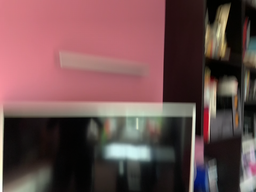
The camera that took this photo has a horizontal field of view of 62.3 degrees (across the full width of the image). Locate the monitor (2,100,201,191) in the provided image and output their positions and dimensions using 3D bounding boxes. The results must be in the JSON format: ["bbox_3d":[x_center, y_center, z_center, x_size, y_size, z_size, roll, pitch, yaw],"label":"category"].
[{"bbox_3d":[-0.080,0.300,1.030,0.940,0.550,0.040,1,2,-15],"label":"monitor"}]
